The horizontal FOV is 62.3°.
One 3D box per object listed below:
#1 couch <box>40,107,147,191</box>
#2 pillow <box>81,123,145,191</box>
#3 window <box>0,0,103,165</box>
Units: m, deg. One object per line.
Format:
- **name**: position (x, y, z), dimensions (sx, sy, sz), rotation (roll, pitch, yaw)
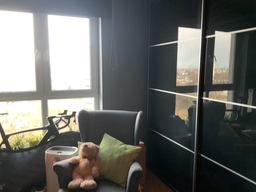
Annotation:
- **couch**: position (-0.250, 0.700, 2.150), dimensions (0.800, 0.990, 0.900), rotation (2, 8, 8)
- **pillow**: position (-0.150, 0.640, 2.150), dimensions (0.410, 0.520, 0.290), rotation (29, 23, 5)
- **window**: position (-1.110, -0.180, 2.770), dimensions (1.530, 1.990, 0.320), rotation (-2, 9, -21)
